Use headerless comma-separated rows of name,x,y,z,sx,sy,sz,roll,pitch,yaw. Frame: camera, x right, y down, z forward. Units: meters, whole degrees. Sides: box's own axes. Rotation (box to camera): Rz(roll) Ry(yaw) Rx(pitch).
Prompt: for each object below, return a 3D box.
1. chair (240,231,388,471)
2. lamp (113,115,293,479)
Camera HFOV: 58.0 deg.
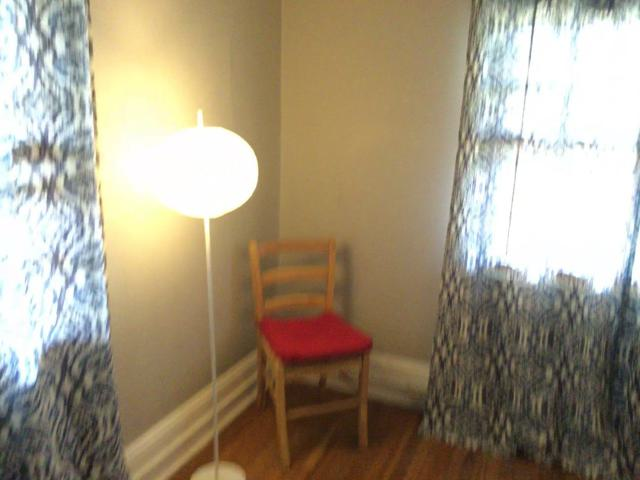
chair,-0.060,0.450,2.620,0.460,0.840,0.620,-4,15,-21
lamp,-0.390,0.280,2.130,0.400,1.430,0.470,7,15,23
